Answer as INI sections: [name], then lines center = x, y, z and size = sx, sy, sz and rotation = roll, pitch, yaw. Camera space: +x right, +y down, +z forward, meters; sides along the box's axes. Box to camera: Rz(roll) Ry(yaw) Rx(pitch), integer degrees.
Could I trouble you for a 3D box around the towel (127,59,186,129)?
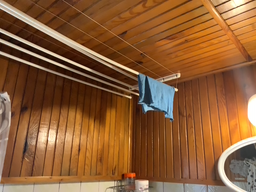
[towel]
center = 0.190, 0.020, 1.260
size = 0.140, 0.280, 0.470
rotation = -10, -21, 33
